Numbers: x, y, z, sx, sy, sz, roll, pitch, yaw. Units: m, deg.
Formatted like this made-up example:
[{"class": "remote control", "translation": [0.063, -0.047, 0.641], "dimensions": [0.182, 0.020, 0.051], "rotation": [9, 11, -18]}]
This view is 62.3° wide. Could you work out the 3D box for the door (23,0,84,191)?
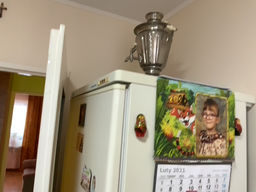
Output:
[{"class": "door", "translation": [-0.380, 0.760, 0.880], "dimensions": [0.110, 2.020, 0.790], "rotation": [6, -7, -19]}]
